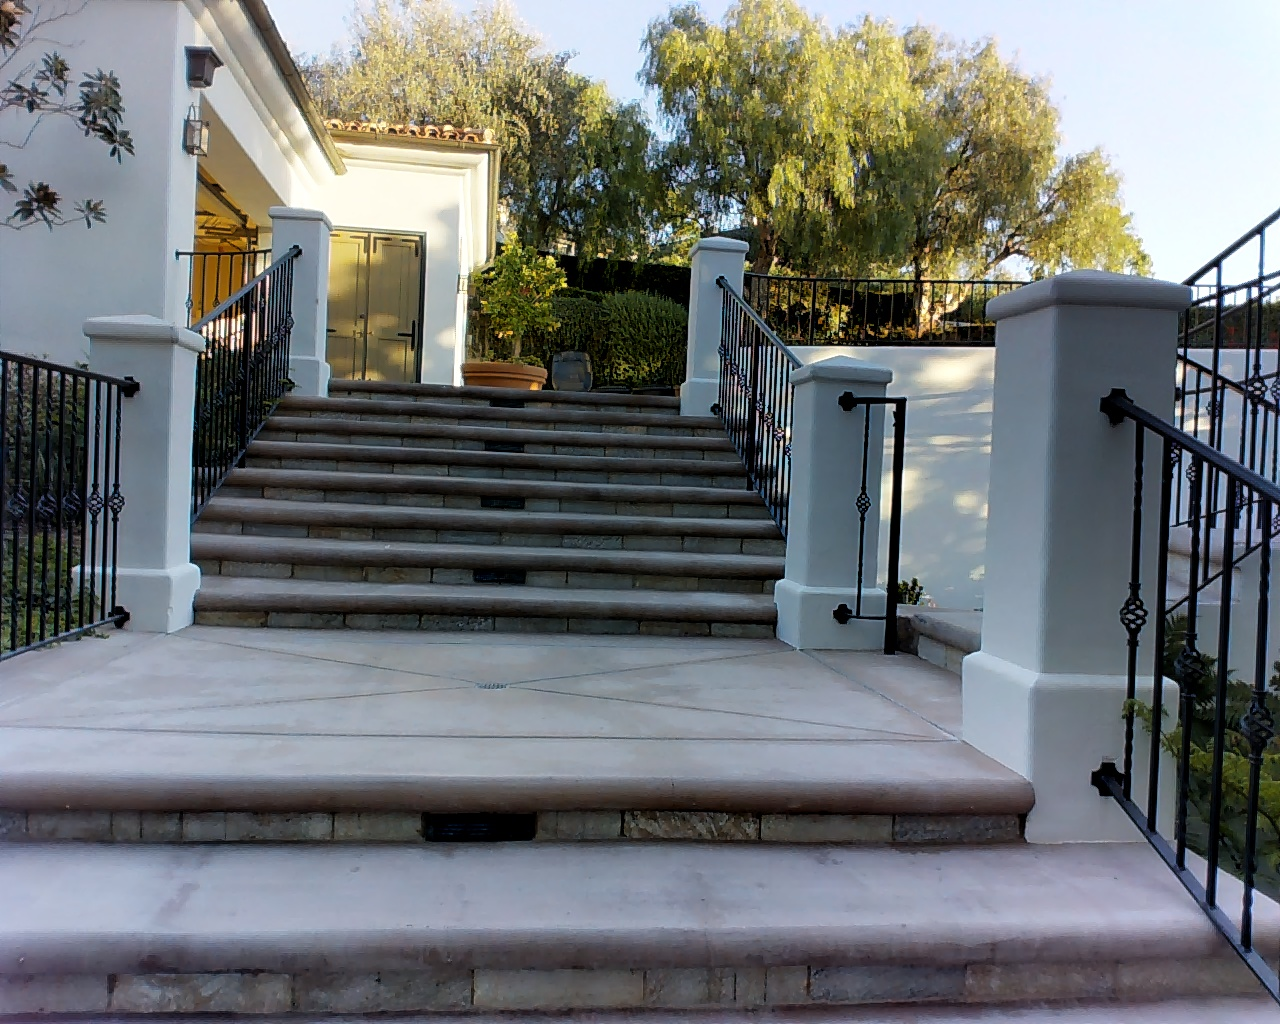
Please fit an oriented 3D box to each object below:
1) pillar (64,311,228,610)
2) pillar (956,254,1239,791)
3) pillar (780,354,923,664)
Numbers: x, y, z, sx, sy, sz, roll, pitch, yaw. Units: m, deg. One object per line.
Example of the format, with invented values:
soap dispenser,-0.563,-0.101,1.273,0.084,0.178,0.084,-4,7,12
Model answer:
pillar,-1.919,-0.190,4.210,0.440,1.090,0.440,2,0,-8
pillar,1.110,0.030,2.660,0.440,1.210,0.430,2,0,-8
pillar,0.880,-0.010,4.520,0.440,1.230,0.390,2,0,-8
